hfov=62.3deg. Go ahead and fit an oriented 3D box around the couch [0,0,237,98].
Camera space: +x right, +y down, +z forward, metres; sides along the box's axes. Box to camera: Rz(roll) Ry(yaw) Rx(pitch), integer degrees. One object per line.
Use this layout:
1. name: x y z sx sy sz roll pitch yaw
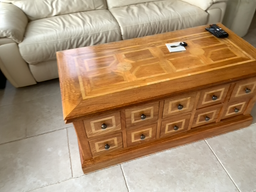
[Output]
1. couch: -0.200 -0.890 2.070 2.120 0.920 1.030 -13 45 -11
